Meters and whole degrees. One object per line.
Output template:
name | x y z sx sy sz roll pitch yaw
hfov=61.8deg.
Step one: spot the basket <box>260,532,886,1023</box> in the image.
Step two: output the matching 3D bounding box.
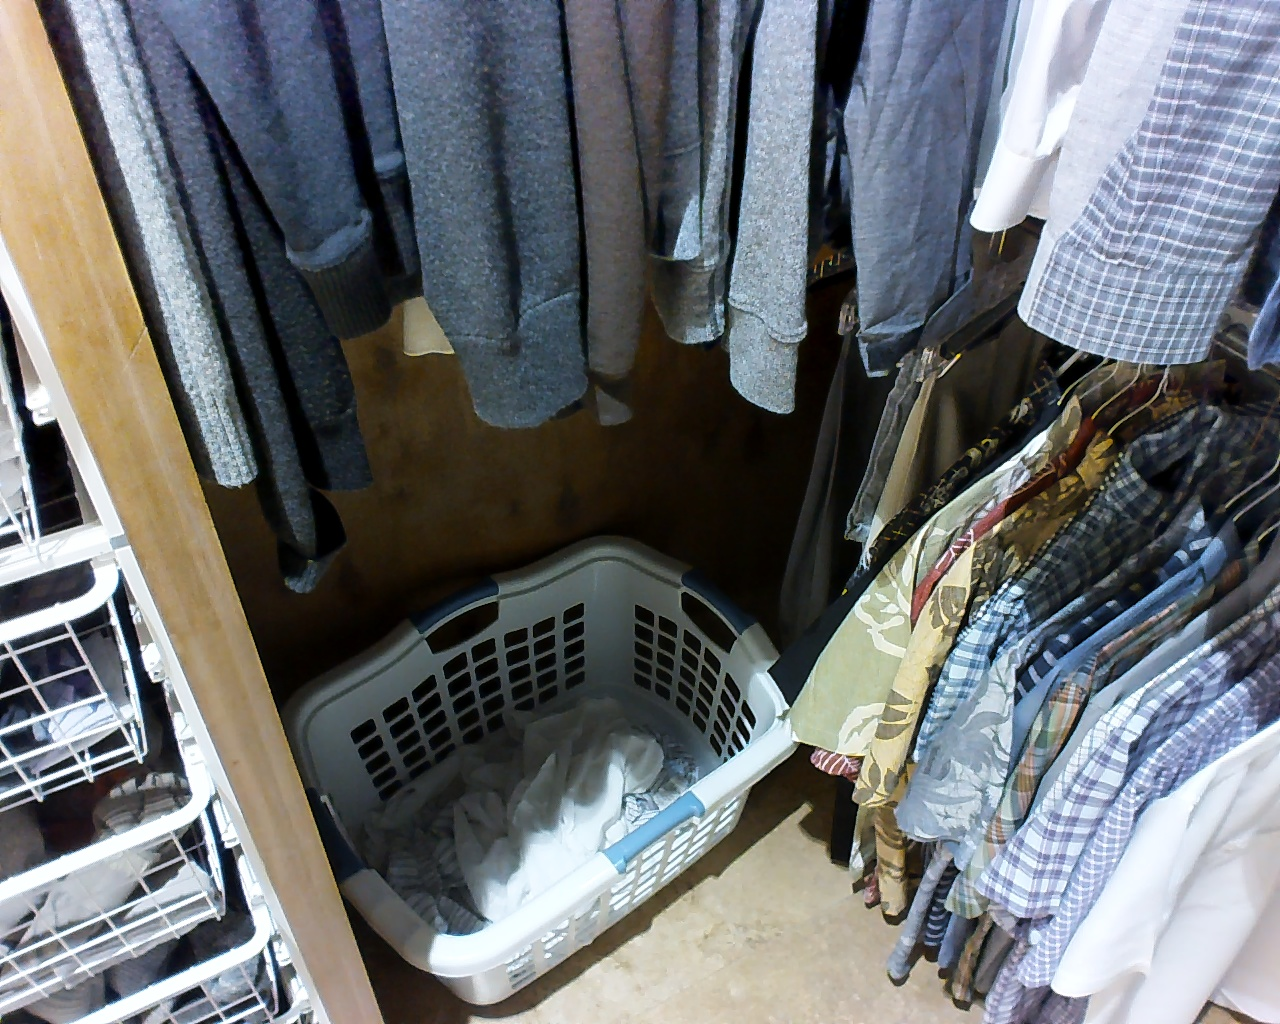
basket | -0.090 0.400 1.530 0.690 0.280 0.480 -25 48 -25
